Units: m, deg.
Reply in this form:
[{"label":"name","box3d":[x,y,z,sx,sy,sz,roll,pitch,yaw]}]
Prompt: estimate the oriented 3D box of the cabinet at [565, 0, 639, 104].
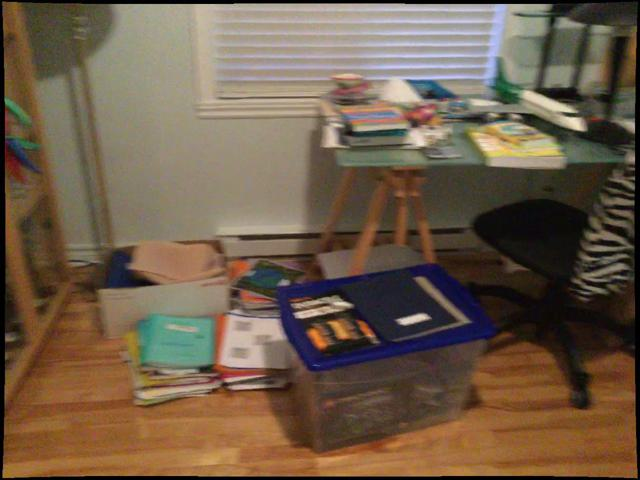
[{"label":"cabinet","box3d":[1.239,-0.741,2.170,0.430,0.360,0.330,-3,29,-5]}]
